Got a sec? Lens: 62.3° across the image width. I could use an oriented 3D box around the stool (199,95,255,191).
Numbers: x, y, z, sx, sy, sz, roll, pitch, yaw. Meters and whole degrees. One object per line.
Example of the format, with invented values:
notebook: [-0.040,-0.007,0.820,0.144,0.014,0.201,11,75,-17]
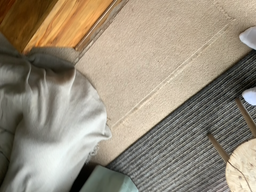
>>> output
stool: [0.560,0.250,0.940,0.300,0.440,0.310,-44,89,19]
